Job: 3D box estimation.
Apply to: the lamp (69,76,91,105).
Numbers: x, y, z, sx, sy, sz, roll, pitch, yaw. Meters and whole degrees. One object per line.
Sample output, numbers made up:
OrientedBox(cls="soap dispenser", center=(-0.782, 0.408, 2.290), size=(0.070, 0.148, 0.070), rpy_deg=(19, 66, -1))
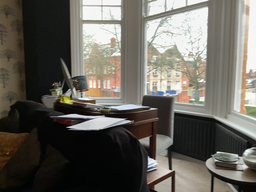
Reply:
OrientedBox(cls="lamp", center=(-0.790, -0.100, 3.490), size=(0.270, 0.450, 0.270), rpy_deg=(1, 6, 6))
